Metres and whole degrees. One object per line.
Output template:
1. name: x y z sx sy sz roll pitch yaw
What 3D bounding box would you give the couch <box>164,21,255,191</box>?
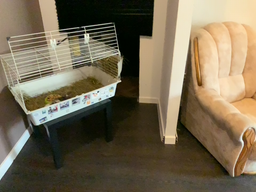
1. couch: 0.950 -0.010 1.790 0.880 0.960 0.960 -9 32 -14
